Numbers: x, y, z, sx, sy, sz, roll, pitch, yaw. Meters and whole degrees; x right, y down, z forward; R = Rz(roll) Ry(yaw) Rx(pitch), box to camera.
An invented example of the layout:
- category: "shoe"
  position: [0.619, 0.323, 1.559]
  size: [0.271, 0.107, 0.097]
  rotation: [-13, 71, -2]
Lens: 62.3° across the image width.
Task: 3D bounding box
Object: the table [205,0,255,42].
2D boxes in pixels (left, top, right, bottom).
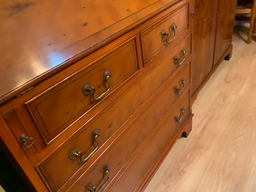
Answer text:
- category: "table"
  position: [1.130, -0.970, 2.110]
  size: [0.490, 0.650, 0.490]
  rotation: [19, 44, 33]
